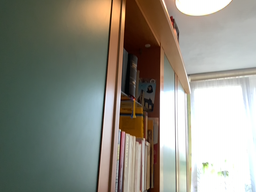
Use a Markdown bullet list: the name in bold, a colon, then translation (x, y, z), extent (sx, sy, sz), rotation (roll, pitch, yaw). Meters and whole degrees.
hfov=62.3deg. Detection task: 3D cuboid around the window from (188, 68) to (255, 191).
- **window**: translation (1.250, 0.470, 2.210), extent (1.140, 1.550, 0.170), rotation (-3, -16, 18)
